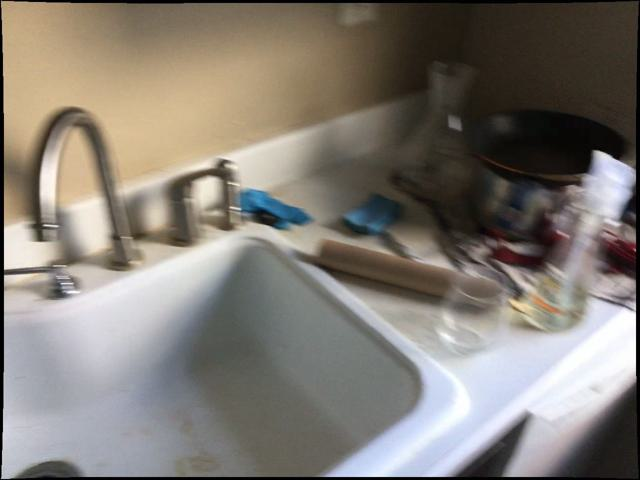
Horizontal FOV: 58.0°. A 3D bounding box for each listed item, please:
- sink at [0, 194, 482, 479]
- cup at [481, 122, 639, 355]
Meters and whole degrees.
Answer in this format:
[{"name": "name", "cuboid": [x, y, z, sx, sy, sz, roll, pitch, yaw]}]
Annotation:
[{"name": "sink", "cuboid": [-0.219, 0.261, 0.830, 0.649, 0.230, 0.560, -25, 43, -28]}, {"name": "cup", "cuboid": [0.329, 0.000, 0.780, 0.110, 0.260, 0.140, -25, 43, -28]}]
